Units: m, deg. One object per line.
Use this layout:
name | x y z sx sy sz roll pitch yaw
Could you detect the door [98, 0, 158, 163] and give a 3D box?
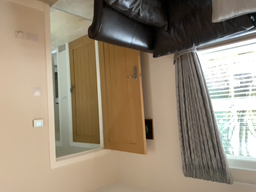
door | -0.040 -0.200 2.930 0.860 2.080 0.130 -5 176 40
